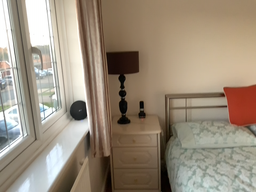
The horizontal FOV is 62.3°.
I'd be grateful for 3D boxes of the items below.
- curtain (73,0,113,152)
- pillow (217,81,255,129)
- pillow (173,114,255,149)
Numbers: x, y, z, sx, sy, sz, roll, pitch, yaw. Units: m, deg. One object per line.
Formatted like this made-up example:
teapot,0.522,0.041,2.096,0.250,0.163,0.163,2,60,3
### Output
curtain,-0.250,-0.310,1.570,0.160,1.400,0.310,-3,12,1
pillow,1.180,0.090,2.210,0.370,0.420,0.240,-2,22,2
pillow,0.830,0.350,2.180,0.650,0.160,0.510,-2,12,3
